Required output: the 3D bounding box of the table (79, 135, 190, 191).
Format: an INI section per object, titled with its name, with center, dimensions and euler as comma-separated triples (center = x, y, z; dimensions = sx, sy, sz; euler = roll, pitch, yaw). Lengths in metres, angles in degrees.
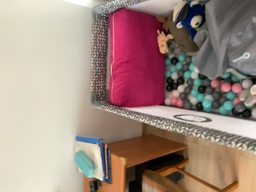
[table]
center = 0.060, 0.710, 1.700
dimensions = 0.490, 0.730, 0.570
euler = 10, 99, 47
